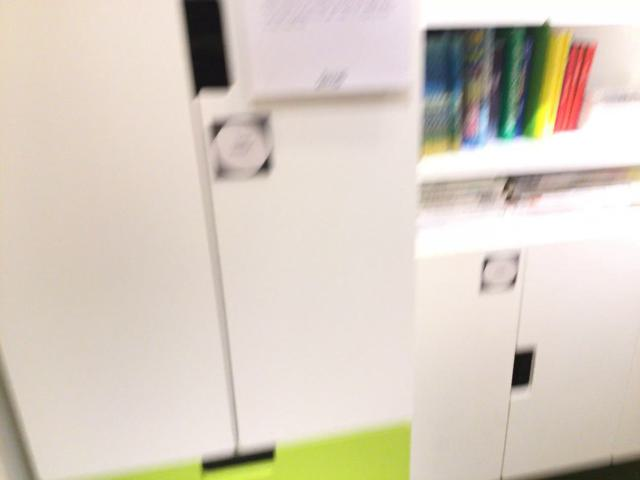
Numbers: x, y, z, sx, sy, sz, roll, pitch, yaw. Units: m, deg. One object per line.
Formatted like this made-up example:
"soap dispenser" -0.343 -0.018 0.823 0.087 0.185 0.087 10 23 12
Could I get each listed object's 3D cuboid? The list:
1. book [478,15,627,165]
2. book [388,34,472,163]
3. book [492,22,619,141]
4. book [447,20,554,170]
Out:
"book" 0.430 -0.300 1.120 0.140 0.240 0.250 -4 24 -6
"book" 0.200 -0.270 1.090 0.110 0.210 0.140 -4 24 -6
"book" 0.490 -0.340 1.230 0.180 0.220 0.140 -4 24 -6
"book" 0.320 -0.270 1.060 0.110 0.240 0.160 -4 24 -6
